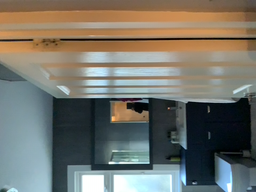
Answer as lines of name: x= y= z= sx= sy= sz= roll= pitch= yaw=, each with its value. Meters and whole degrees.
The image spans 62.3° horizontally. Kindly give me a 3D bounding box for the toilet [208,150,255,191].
toilet: x=1.310 y=0.910 z=2.600 sx=0.540 sy=0.460 sz=0.360 roll=87 pitch=-178 yaw=-89
